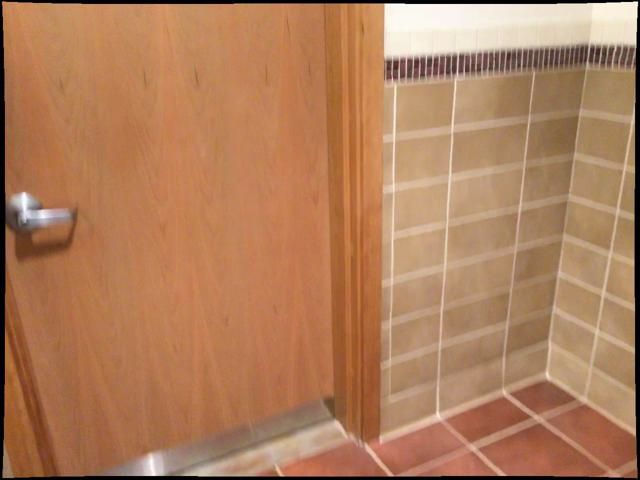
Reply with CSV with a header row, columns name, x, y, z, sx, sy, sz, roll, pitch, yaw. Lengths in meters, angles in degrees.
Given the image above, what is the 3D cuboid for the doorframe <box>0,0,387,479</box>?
name,x,y,z,sx,sy,sz,roll,pitch,yaw
doorframe,-0.330,-0.250,1.440,0.989,2.102,0.220,-13,24,-21

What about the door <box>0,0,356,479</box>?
name,x,y,z,sx,sy,sz,roll,pitch,yaw
door,-0.370,-0.250,1.490,0.919,2.062,0.100,-13,24,-21
